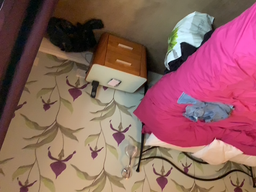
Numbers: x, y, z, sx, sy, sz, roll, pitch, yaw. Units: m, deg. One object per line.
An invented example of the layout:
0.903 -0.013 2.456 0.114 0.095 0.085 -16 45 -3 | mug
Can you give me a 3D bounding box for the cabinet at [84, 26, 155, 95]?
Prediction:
-0.090 -0.330 2.170 0.560 0.380 0.450 15 155 -19 | cabinet
